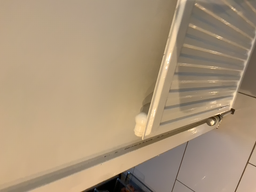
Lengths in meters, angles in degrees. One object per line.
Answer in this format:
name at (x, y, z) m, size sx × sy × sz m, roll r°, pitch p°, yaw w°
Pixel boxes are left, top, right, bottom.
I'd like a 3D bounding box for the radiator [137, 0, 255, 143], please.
radiator at (0.330, -0.240, 0.640) m, size 0.040 × 0.700 × 0.660 m, roll 23°, pitch 108°, yaw 37°
